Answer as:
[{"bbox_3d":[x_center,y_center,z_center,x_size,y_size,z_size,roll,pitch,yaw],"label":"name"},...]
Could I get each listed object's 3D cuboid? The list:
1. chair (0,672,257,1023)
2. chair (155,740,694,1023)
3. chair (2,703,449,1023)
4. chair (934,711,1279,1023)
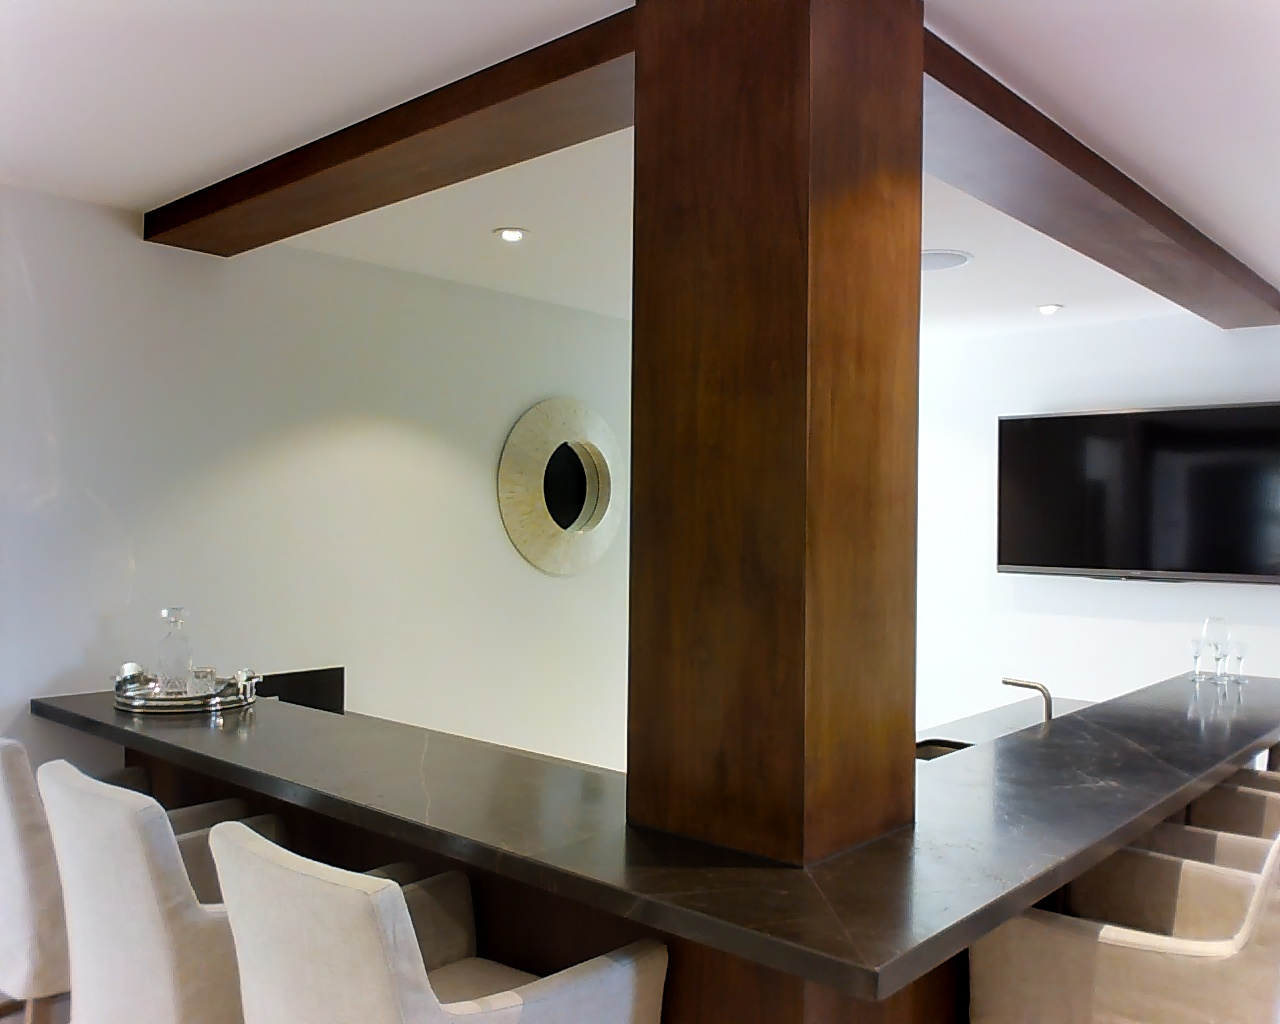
[{"bbox_3d":[-1.430,1.040,2.730,0.630,1.140,0.630,0,0,43],"label":"chair"},{"bbox_3d":[-0.370,1.030,1.860,0.650,1.080,0.650,0,0,42],"label":"chair"},{"bbox_3d":[-0.870,1.020,2.290,0.570,1.070,0.700,0,0,42],"label":"chair"},{"bbox_3d":[1.070,1.060,2.150,0.710,1.150,0.660,0,0,42],"label":"chair"}]
